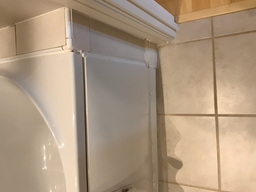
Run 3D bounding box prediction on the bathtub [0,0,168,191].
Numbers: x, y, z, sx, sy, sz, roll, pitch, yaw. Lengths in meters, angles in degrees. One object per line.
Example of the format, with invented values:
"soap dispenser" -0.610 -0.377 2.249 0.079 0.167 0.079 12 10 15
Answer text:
"bathtub" -0.260 0.640 0.980 0.730 0.600 1.780 -1 92 31
